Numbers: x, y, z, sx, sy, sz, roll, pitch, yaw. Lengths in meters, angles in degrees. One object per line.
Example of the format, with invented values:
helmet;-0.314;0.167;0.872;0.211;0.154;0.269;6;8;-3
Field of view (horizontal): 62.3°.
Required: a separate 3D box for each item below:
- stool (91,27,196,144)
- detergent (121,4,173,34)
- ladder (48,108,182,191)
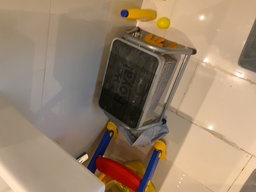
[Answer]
stool;0.060;-0.070;1.040;0.330;0.250;0.430;29;119;24
detergent;0.090;-0.350;0.970;0.140;0.200;0.090;27;119;25
ladder;-0.090;0.470;1.170;0.470;0.450;0.540;28;120;24
